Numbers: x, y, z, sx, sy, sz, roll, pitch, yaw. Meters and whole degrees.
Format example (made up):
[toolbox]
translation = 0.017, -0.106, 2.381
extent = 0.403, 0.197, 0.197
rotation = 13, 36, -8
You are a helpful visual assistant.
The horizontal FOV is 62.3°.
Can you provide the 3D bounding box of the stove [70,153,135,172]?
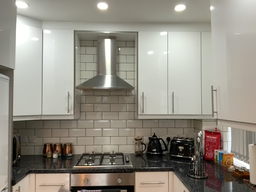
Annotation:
[stove]
translation = -0.250, 0.700, 2.280
extent = 0.610, 0.040, 0.570
rotation = 0, -2, -3
